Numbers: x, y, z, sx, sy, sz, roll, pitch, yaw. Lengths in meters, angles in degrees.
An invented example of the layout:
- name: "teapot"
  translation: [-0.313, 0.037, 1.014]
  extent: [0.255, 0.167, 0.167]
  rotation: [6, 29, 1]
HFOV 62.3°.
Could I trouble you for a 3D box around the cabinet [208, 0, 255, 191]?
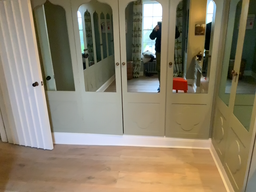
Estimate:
- name: "cabinet"
  translation: [1.280, -0.370, 1.860]
  extent: [0.650, 2.630, 1.050]
  rotation: [1, 20, 7]
